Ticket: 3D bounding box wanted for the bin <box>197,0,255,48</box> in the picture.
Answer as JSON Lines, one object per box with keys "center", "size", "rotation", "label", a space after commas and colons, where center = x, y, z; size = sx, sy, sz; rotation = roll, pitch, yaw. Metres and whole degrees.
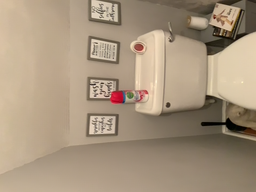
{"center": [0.650, -0.420, 1.270], "size": [0.280, 0.340, 0.180], "rotation": [-174, 85, -65], "label": "bin"}
